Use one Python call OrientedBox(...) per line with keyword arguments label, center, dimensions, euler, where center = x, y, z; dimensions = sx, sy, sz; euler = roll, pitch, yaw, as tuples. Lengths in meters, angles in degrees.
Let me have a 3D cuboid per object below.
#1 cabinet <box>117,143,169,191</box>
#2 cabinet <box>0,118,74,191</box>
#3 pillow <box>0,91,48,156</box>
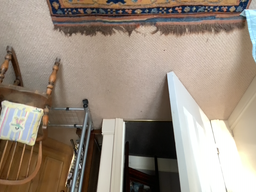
OrientedBox(label="cabinet", center=(0.140, 1.160, 2.260), dimensions=(0.510, 1.200, 0.390), euler=(5, 144, -5))
OrientedBox(label="cabinet", center=(-0.990, 0.830, 2.080), dimensions=(0.590, 0.940, 0.810), euler=(0, 144, 2))
OrientedBox(label="pillow", center=(-0.710, 0.150, 1.270), dimensions=(0.320, 0.260, 0.130), euler=(35, 112, 1))
